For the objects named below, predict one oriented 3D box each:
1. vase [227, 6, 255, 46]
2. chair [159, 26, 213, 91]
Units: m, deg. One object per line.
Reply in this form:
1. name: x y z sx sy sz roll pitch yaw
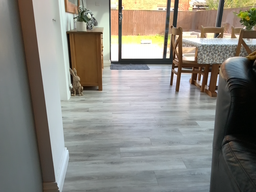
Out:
1. vase: 1.830 -1.080 3.270 0.330 0.550 0.360 -1 20 -8
2. chair: 0.890 -0.610 3.400 0.610 0.950 0.470 0 20 -5
